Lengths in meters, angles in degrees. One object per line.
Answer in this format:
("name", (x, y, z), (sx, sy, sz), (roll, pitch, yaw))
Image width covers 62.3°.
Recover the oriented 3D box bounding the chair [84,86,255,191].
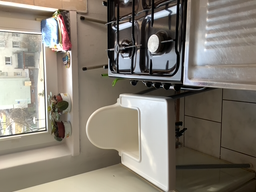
("chair", (0.260, 0.160, 1.300), (0.560, 0.880, 0.390), (9, 101, 56))
